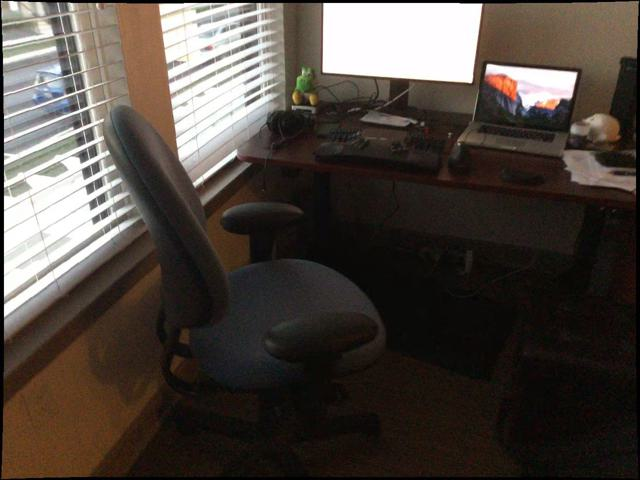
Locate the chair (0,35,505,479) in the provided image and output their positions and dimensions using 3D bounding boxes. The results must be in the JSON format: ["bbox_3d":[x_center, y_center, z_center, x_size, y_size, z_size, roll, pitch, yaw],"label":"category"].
[{"bbox_3d":[-0.209,0.190,1.430,0.828,1.082,0.840,-11,34,-12],"label":"chair"}]
